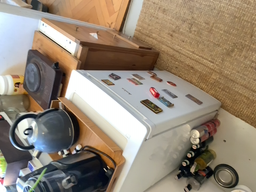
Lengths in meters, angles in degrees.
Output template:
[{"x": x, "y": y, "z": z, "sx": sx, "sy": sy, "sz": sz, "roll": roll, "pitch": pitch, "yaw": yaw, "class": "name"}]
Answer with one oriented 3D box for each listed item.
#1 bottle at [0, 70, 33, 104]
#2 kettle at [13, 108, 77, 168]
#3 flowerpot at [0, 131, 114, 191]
[{"x": -0.710, "y": -0.060, "z": 1.320, "sx": 0.110, "sy": 0.150, "sz": 0.170, "roll": 40, "pitch": 117, "yaw": 30, "class": "bottle"}, {"x": -0.380, "y": 0.180, "z": 0.970, "sx": 0.170, "sy": 0.190, "sz": 0.160, "roll": 36, "pitch": 115, "yaw": 31, "class": "kettle"}, {"x": -0.380, "y": 0.350, "z": 0.730, "sx": 0.250, "sy": 0.620, "sz": 0.240, "roll": 37, "pitch": 116, "yaw": 31, "class": "flowerpot"}]
